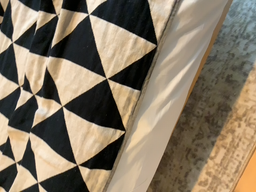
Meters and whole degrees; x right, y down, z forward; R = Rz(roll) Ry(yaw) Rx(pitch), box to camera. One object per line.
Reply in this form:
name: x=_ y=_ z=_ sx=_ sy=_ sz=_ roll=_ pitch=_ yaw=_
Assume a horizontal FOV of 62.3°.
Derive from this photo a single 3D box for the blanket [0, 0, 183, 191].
blanket: x=-0.280 y=-0.170 z=0.600 sx=0.770 sy=0.090 sz=1.460 roll=32 pitch=105 yaw=32
